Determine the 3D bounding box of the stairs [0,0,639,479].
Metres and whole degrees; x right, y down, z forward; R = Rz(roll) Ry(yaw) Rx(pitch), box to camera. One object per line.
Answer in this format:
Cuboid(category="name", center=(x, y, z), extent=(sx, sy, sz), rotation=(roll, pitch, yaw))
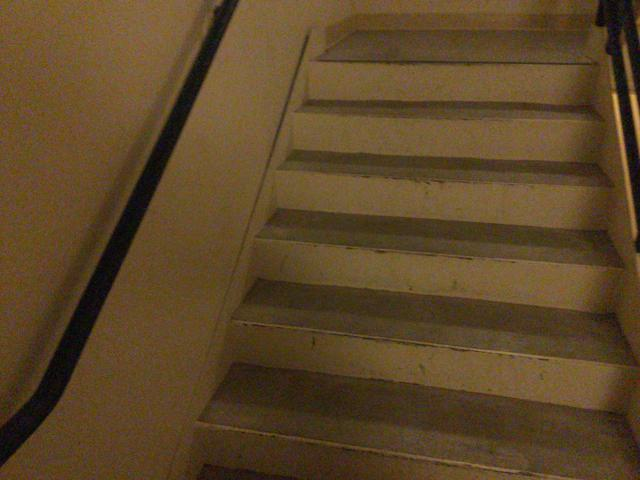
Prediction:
Cuboid(category="stairs", center=(0.490, -0.280, 1.890), extent=(1.400, 1.820, 2.520), rotation=(0, 25, 16))
